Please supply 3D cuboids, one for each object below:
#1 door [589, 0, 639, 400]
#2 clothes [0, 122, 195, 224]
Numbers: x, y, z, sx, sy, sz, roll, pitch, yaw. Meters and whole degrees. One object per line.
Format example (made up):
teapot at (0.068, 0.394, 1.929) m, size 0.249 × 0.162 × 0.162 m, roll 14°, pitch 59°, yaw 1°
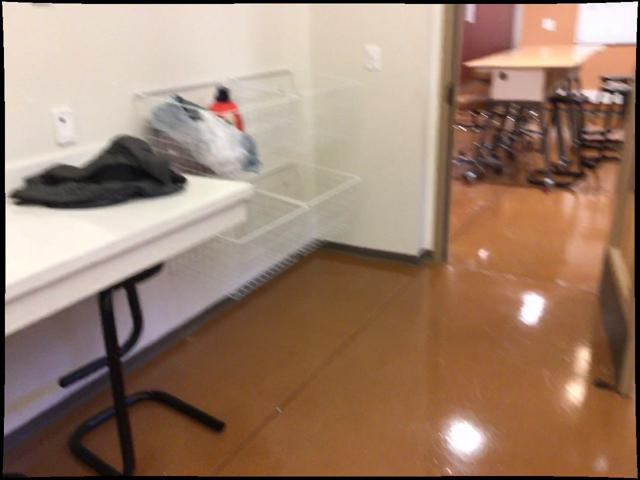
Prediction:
door at (1.239, -0.280, 2.180) m, size 0.150 × 1.441 × 0.950 m, roll 5°, pitch 24°, yaw 18°
clothes at (-0.699, -0.230, 1.810) m, size 0.460 × 0.180 × 0.360 m, roll 11°, pitch 27°, yaw 30°
